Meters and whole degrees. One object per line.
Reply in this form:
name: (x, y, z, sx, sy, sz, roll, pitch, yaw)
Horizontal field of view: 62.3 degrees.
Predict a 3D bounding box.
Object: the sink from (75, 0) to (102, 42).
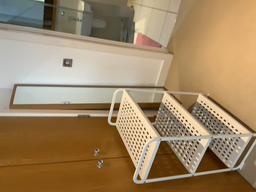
sink: (-0.650, -1.220, 3.420, 0.440, 0.270, 0.570, -128, 46, -55)
